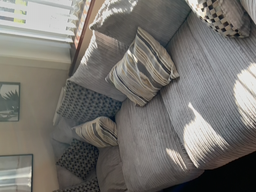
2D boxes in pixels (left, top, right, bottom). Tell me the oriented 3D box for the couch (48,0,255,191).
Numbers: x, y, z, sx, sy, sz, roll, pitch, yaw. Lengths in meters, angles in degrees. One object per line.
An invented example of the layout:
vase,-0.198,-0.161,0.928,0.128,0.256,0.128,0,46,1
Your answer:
couch,0.020,0.120,1.720,2.890,0.850,1.250,-54,43,47
